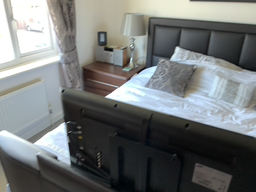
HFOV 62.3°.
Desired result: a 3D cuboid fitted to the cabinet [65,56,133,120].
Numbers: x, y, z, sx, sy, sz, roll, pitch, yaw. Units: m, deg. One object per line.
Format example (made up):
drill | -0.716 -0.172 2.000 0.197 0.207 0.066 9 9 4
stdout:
cabinet | -0.380 -0.150 2.990 0.690 0.610 0.590 14 28 24
